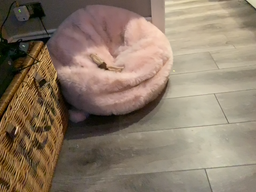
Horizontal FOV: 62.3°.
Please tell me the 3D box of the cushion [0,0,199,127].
[{"bbox_3d":[-0.090,-0.240,1.080,0.690,0.370,0.650,-5,42,5],"label":"cushion"}]
